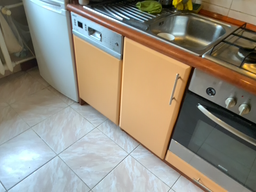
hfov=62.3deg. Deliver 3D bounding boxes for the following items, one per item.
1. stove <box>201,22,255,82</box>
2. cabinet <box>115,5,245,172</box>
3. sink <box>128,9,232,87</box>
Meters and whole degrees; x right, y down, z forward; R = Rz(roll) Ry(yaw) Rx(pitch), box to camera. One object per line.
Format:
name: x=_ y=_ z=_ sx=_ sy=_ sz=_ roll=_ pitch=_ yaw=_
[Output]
stove: x=0.700 y=-0.150 z=0.910 sx=0.580 sy=0.030 sz=0.520 roll=33 pitch=48 yaw=29
cabinet: x=0.290 y=-0.050 z=1.430 sx=0.410 sy=0.870 sz=0.620 roll=33 pitch=48 yaw=29
sink: x=0.290 y=-0.300 z=1.200 sx=0.360 sy=0.190 sz=0.440 roll=33 pitch=48 yaw=29
